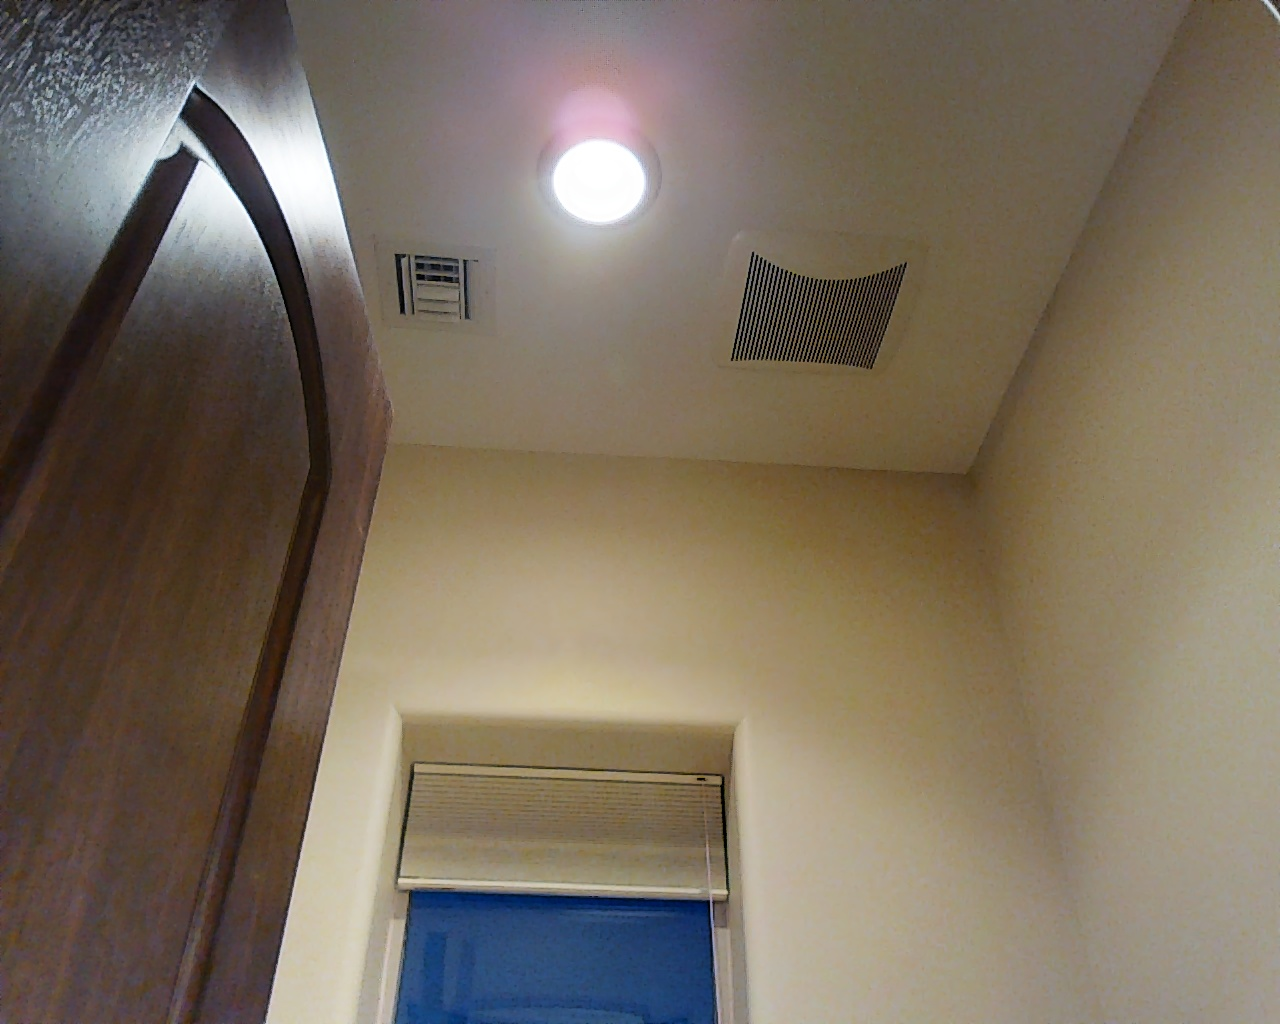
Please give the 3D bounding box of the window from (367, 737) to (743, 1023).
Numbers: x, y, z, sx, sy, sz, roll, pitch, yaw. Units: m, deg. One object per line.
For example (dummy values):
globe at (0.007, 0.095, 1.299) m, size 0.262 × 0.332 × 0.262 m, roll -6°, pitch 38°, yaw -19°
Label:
window at (-0.130, 0.670, 1.790) m, size 0.580 × 0.600 × 0.050 m, roll 3°, pitch -40°, yaw -4°
